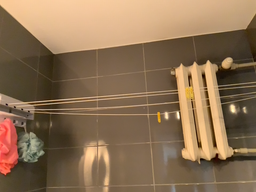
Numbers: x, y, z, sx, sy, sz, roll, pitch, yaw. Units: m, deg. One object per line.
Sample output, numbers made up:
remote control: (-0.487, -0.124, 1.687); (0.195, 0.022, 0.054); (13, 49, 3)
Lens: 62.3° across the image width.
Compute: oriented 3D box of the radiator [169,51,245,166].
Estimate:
radiator: (0.430, 0.080, 1.260); (0.310, 0.620, 0.210); (-6, -17, 9)
